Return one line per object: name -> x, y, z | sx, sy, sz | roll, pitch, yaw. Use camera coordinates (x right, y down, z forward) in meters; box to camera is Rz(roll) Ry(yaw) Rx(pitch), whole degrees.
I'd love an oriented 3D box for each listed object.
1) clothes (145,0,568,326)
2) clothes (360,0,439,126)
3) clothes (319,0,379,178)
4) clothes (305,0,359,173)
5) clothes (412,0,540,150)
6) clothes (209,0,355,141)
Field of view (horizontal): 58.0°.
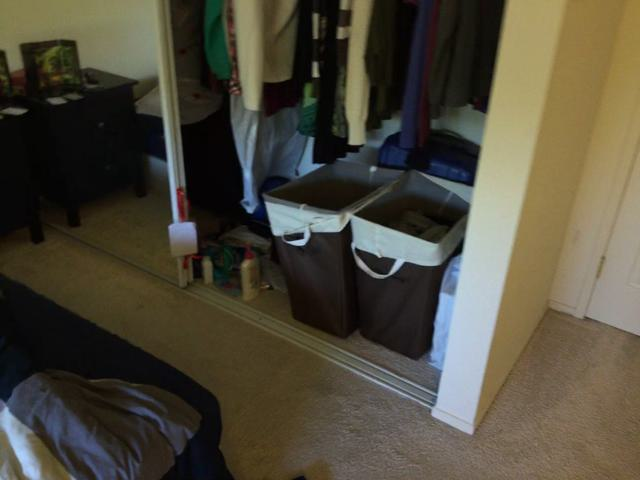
clothes -> 0.090, -0.690, 2.230 | 1.390, 1.480, 0.700 | 20, 32, 28
clothes -> 0.290, -0.770, 1.950 | 0.060, 0.690, 0.400 | 20, 32, 28
clothes -> 0.110, -0.690, 2.080 | 0.070, 0.910, 0.230 | 20, 32, 28
clothes -> 0.050, -0.710, 2.110 | 0.050, 0.910, 0.230 | 20, 32, 28
clothes -> 0.510, -0.680, 1.780 | 0.190, 0.680, 0.450 | 20, 32, 28
clothes -> -0.130, -0.890, 2.290 | 0.260, 0.830, 0.600 | 20, 32, 28
